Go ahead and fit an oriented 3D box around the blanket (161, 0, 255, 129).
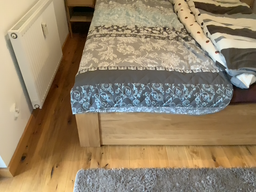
[{"bbox_3d":[0.850,-0.590,1.930,0.780,0.400,2.000,1,39,-2],"label":"blanket"}]
